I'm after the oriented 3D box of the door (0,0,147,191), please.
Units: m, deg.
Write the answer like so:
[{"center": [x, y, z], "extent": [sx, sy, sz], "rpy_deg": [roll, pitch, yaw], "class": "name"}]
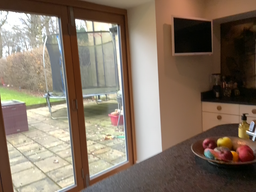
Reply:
[{"center": [-0.810, 0.100, 2.120], "extent": [2.410, 2.210, 0.220], "rpy_deg": [-9, 9, -38], "class": "door"}]
